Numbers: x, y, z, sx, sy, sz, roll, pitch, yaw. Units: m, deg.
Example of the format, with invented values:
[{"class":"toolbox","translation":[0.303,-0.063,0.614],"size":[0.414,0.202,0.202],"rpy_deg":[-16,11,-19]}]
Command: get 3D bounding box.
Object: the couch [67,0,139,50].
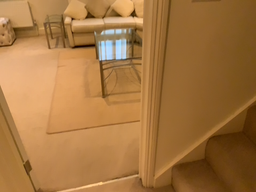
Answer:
[{"class":"couch","translation":[-0.510,-1.530,4.210],"size":[1.220,0.810,0.940],"rpy_deg":[-8,34,-11]}]
